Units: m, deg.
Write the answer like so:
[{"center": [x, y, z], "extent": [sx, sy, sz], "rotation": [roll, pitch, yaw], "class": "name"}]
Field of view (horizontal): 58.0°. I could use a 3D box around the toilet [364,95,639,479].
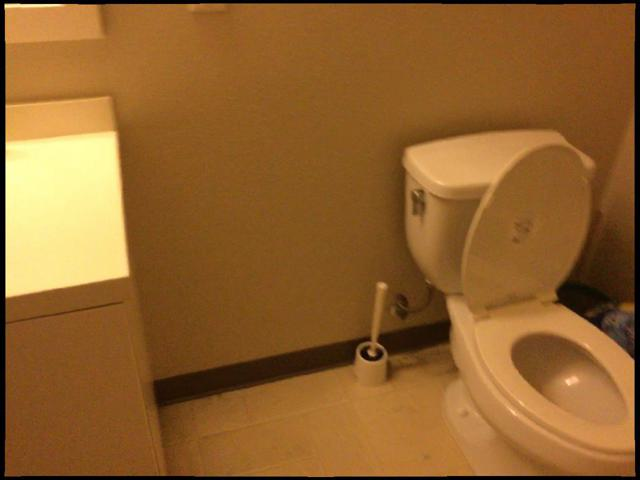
[{"center": [0.519, 0.210, 1.460], "extent": [0.489, 0.871, 0.810], "rotation": [-8, 35, -15], "class": "toilet"}]
